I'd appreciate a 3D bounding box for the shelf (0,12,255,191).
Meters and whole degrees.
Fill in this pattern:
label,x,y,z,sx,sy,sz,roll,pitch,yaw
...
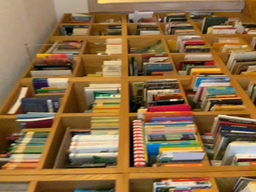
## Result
label,x,y,z,sx,sy,sz,roll,pitch,yaw
shelf,0.340,0.400,1.280,4.360,2.480,0.480,-92,2,-52
